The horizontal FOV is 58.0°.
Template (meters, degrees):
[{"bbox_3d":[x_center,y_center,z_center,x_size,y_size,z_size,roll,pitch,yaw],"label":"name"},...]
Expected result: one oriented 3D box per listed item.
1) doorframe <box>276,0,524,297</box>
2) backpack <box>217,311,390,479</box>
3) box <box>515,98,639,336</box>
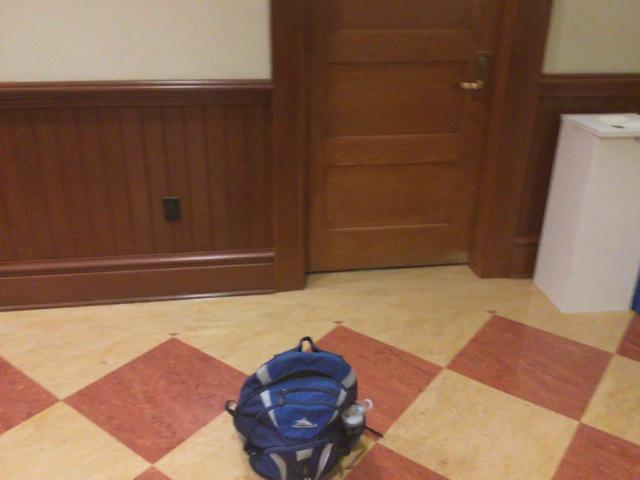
[{"bbox_3d":[0.300,-0.620,2.490,0.950,1.740,0.310,-2,23,-7],"label":"doorframe"},{"bbox_3d":[-0.060,0.490,1.650,0.400,0.420,0.320,-6,24,-16],"label":"backpack"},{"bbox_3d":[1.210,-0.110,2.460,0.460,0.900,0.440,-2,23,-7],"label":"box"}]
